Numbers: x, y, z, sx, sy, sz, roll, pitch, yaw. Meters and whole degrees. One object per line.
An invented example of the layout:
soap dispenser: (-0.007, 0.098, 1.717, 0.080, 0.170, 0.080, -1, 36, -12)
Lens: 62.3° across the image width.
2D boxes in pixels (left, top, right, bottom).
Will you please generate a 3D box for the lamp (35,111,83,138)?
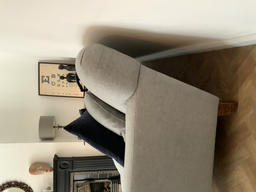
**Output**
lamp: (-1.040, 0.430, 3.260, 0.330, 0.660, 0.320, -144, 57, -75)

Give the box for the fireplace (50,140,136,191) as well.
fireplace: (-0.570, 1.530, 3.330, 0.770, 1.150, 1.440, -150, 63, -76)
